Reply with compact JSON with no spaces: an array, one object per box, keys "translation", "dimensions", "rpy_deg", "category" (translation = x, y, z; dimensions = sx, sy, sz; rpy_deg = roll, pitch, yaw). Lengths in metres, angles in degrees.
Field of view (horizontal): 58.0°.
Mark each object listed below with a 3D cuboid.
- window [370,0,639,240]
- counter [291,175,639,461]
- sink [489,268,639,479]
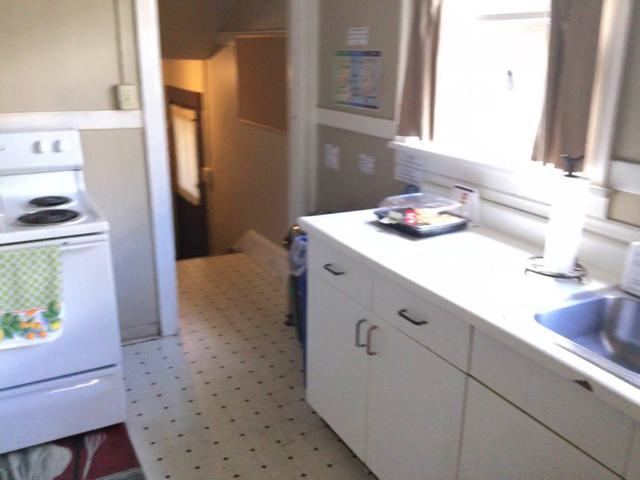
[{"translation":[0.660,-0.780,2.010],"dimensions":[0.250,1.290,1.240],"rpy_deg":[-5,16,-28],"category":"window"},{"translation":[0.900,0.240,1.130],"dimensions":[0.660,0.300,3.020],"rpy_deg":[-5,16,-28],"category":"counter"},{"translation":[0.880,0.320,1.190],"dimensions":[0.580,0.250,0.840],"rpy_deg":[-5,16,-28],"category":"sink"}]
